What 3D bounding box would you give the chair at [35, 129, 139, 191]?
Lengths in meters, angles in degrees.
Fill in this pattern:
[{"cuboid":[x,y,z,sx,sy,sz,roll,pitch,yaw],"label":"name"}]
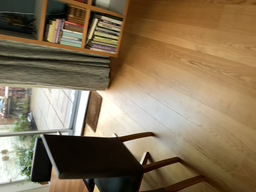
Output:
[{"cuboid":[-0.430,0.740,2.120,0.560,0.790,0.560,35,117,50],"label":"chair"}]
